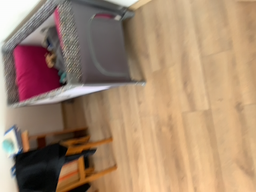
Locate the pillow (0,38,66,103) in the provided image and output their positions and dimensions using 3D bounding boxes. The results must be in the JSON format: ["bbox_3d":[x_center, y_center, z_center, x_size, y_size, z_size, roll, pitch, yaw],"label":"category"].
[{"bbox_3d":[-0.980,-0.250,2.220,0.240,0.440,0.480,-12,53,45],"label":"pillow"}]

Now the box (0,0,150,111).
[{"bbox_3d":[-0.660,-0.330,2.160,1.420,0.900,0.780,-9,87,44],"label":"box"}]
